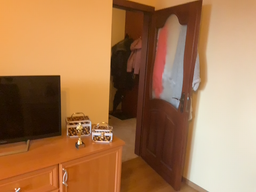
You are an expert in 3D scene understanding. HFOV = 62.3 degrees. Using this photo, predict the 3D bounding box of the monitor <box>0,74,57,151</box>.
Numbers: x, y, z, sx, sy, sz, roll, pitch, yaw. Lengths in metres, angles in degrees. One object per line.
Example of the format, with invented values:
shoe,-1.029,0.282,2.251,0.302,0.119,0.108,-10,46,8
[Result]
monitor,-0.820,0.110,1.300,0.730,0.480,0.040,-5,15,-33
